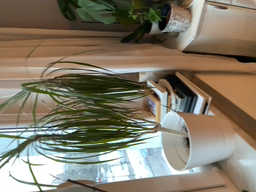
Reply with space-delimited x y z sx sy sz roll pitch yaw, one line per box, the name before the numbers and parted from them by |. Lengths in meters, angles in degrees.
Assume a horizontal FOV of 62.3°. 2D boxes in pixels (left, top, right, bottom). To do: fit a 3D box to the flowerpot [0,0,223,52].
flowerpot | -0.070 -0.650 1.130 0.570 1.000 0.600 -117 32 -56
